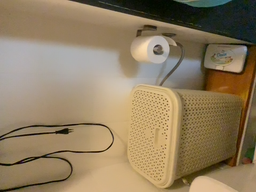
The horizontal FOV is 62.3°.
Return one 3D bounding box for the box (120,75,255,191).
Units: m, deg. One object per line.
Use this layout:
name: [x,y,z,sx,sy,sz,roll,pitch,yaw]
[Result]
box: [0.290,0.140,1.010,0.280,0.560,0.430,20,108,54]
